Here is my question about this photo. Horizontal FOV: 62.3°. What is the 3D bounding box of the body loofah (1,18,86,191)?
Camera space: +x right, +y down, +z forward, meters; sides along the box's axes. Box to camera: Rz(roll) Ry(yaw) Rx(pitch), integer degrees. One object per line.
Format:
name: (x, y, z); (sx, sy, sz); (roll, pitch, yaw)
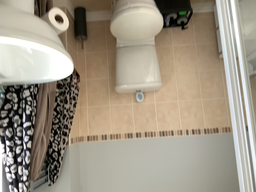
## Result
body loofah: (-0.490, 0.130, 1.370); (0.250, 1.000, 0.610); (-4, 173, 4)

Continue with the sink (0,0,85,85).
sink: (-0.440, -0.190, 0.800); (0.420, 0.180, 0.540); (-4, 173, 3)
